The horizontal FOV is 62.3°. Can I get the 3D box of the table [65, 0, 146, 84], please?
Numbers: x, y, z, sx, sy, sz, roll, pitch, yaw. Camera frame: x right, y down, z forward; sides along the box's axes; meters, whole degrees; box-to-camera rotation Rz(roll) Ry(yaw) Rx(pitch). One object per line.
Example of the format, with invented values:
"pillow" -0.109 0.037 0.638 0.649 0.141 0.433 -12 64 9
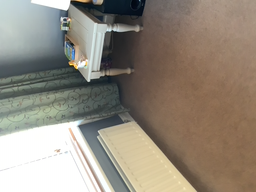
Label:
"table" -0.250 -0.520 2.010 0.560 0.490 0.560 45 133 41
